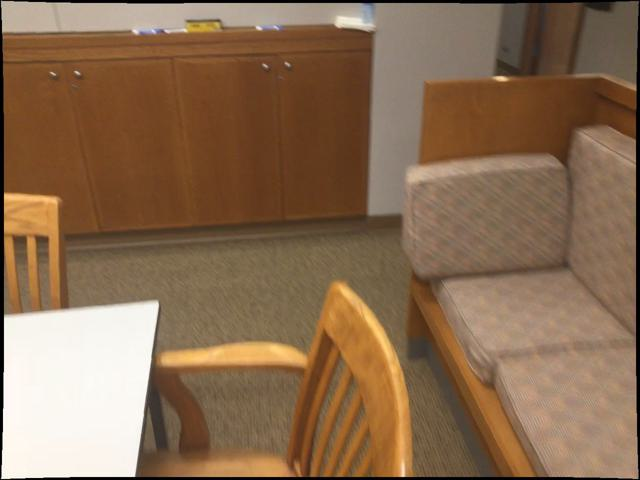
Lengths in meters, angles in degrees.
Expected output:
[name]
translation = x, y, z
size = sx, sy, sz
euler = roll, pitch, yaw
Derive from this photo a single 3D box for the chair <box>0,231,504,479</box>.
[chair]
translation = -0.170, 0.521, 1.120
size = 0.619, 0.872, 0.680
euler = 0, 25, -10
